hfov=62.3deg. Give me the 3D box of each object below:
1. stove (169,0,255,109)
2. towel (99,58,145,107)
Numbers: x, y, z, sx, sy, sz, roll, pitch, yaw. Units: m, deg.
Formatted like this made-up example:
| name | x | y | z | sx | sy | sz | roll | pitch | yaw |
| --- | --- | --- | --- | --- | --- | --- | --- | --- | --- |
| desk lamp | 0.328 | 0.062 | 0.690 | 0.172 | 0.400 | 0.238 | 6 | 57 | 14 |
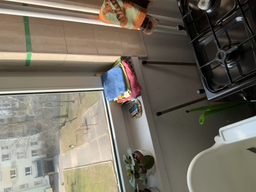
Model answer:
| name | x | y | z | sx | sy | sz | roll | pitch | yaw |
| --- | --- | --- | --- | --- | --- | --- | --- | --- | --- |
| stove | 0.430 | -0.330 | 0.740 | 0.520 | 0.170 | 0.610 | -38 | 61 | 55 |
| towel | -0.040 | -0.070 | 1.160 | 0.200 | 0.140 | 0.190 | -44 | 56 | 53 |
